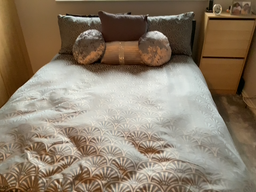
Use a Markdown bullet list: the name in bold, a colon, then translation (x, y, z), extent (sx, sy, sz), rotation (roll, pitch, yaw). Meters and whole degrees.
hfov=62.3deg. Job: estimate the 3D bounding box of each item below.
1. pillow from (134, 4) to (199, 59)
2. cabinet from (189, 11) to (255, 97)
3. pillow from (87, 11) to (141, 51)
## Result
- **pillow**: translation (0.380, -0.650, 2.140), extent (0.550, 0.340, 0.260), rotation (-13, 29, 13)
- **cabinet**: translation (1.080, -0.480, 2.510), extent (0.530, 0.920, 0.320), rotation (3, 32, 4)
- **pillow**: translation (-0.120, -0.610, 2.010), extent (0.460, 0.310, 0.130), rotation (-2, 31, 9)
